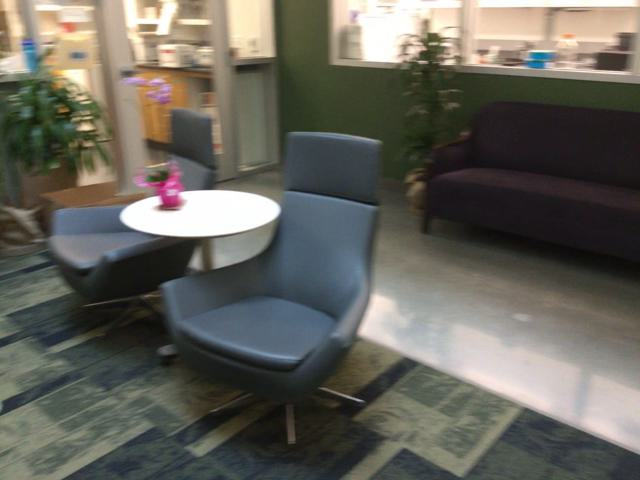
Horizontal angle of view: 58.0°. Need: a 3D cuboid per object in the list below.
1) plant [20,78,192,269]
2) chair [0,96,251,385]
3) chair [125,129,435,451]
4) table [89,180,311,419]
[{"bbox_3d":[-1.330,-0.470,3.670,0.640,1.060,0.710,13,20,41],"label":"plant"},{"bbox_3d":[-0.930,-0.100,2.710,0.920,1.100,0.710,-13,19,-38],"label":"chair"},{"bbox_3d":[-0.100,0.070,2.040,0.750,0.840,0.730,9,17,31],"label":"chair"},{"bbox_3d":[-0.480,0.180,2.410,0.630,0.730,0.610,13,20,41],"label":"table"}]
